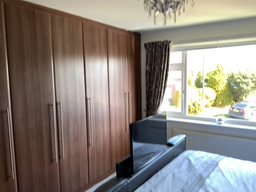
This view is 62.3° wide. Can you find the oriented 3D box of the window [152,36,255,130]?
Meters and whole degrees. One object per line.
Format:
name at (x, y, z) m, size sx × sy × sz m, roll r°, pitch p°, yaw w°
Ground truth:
window at (1.490, -0.210, 3.520) m, size 2.230 × 1.390 × 0.280 m, roll 3°, pitch 7°, yaw 31°
